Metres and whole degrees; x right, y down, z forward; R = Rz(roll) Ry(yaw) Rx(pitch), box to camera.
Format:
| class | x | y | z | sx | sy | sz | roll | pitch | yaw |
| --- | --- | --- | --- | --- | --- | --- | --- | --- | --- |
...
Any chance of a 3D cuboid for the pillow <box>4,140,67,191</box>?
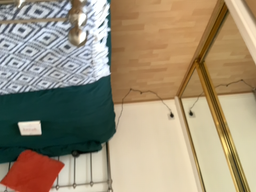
| class | x | y | z | sx | sy | sz | roll | pitch | yaw |
| --- | --- | --- | --- | --- | --- | --- | --- | --- | --- |
| pillow | -0.960 | 0.800 | 2.270 | 0.490 | 0.500 | 0.340 | -9 | 152 | 1 |
